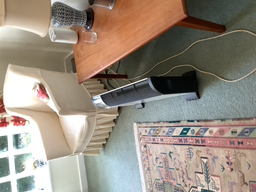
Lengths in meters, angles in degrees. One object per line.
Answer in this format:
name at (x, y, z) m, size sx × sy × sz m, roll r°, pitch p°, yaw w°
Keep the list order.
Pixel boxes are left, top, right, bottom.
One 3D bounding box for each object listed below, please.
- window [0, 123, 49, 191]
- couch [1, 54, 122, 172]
window at (-1.600, 0.800, 2.320) m, size 0.280 × 1.260 × 0.830 m, roll -16°, pitch 80°, yaw 53°
couch at (-0.710, 0.110, 2.110) m, size 0.780 × 0.860 × 0.690 m, roll 53°, pitch 132°, yaw 36°
